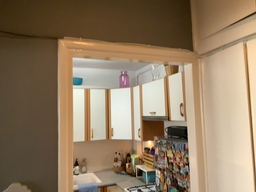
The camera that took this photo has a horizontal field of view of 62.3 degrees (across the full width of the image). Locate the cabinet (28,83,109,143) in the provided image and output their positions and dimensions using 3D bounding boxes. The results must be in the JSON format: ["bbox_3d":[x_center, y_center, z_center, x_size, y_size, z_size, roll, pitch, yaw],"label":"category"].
[{"bbox_3d":[-0.790,0.220,2.880,1.000,0.720,0.310,1,-5,-23],"label":"cabinet"}]

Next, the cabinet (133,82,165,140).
[{"bbox_3d":[0.270,0.190,2.750,0.310,0.710,0.250,0,-5,-22],"label":"cabinet"}]
